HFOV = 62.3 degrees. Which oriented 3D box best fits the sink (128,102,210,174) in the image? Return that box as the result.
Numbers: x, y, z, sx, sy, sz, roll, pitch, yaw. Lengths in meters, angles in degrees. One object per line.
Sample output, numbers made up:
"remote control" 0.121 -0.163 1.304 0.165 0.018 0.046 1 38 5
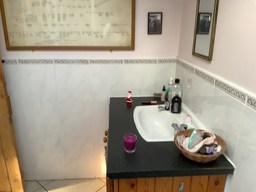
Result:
"sink" 0.240 0.260 1.550 0.420 0.210 0.640 -1 19 -5
